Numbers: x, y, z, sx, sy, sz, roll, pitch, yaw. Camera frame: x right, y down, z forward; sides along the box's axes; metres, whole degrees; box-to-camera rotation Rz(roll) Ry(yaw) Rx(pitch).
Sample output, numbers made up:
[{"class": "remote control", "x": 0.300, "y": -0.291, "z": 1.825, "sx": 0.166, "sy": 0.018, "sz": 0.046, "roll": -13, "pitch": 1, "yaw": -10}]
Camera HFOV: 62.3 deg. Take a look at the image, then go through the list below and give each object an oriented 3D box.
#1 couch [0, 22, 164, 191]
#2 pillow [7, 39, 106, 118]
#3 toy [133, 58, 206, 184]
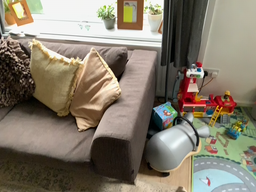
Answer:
[{"class": "couch", "x": -1.150, "y": -0.070, "z": 1.810, "sx": 2.710, "sy": 0.700, "sz": 1.050, "roll": 9, "pitch": 43, "yaw": 12}, {"class": "pillow", "x": -0.500, "y": -0.090, "z": 1.480, "sx": 0.540, "sy": 0.390, "sz": 0.170, "roll": -18, "pitch": 32, "yaw": 32}, {"class": "toy", "x": 0.340, "y": 0.150, "z": 1.660, "sx": 0.380, "sy": 0.490, "sz": 0.800, "roll": 11, "pitch": 43, "yaw": 14}]
